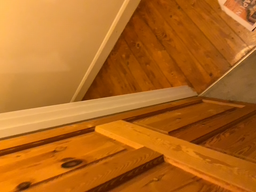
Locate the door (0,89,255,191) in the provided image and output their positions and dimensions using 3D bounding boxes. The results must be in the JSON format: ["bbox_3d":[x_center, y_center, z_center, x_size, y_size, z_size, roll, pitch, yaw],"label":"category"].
[{"bbox_3d":[0.040,0.140,0.610,0.870,2.030,0.040,13,106,47],"label":"door"}]
